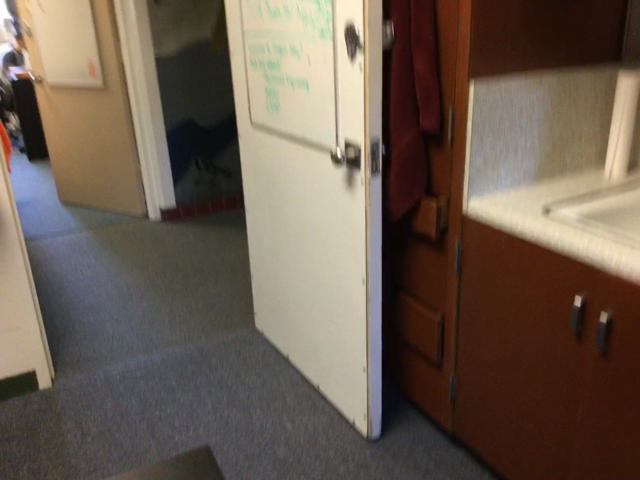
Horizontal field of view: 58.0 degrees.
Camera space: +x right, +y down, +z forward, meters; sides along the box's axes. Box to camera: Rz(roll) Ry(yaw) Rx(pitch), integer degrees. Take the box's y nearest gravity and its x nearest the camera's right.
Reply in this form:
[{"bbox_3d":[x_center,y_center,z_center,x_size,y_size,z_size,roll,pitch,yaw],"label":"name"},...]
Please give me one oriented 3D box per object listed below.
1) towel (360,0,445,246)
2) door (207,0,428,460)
[{"bbox_3d":[0.210,-0.590,1.500,0.100,1.200,0.230,-13,21,-26],"label":"towel"},{"bbox_3d":[-0.060,-0.490,1.920,0.250,2.170,0.980,-13,21,-26],"label":"door"}]
